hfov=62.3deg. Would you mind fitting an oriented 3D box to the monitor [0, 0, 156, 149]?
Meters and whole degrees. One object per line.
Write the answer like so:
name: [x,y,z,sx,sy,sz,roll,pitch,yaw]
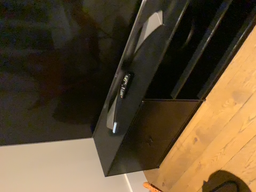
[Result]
monitor: [-0.330,-0.130,1.020,0.050,0.690,1.130,62,140,40]
